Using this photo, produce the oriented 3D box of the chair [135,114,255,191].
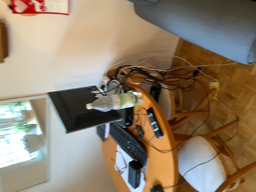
[{"bbox_3d":[0.510,0.460,1.390,0.420,0.750,0.360,58,141,31],"label":"chair"}]
